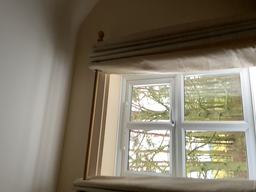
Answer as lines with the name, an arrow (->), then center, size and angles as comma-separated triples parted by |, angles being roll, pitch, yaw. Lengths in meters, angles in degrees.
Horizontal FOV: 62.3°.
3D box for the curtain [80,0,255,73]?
curtain -> 0.390, -0.390, 1.390 | 0.210, 1.460, 0.320 | 37, -126, -66
